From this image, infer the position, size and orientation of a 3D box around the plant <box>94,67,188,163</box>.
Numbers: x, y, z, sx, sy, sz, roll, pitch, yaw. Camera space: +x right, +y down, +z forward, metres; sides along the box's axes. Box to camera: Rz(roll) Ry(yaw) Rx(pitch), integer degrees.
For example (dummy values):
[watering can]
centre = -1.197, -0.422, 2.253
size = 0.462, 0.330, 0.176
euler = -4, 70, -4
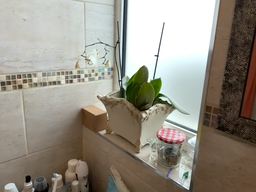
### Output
[plant]
centre = 0.030, 0.040, 0.760
size = 0.190, 0.240, 0.270
euler = -10, 20, -37
